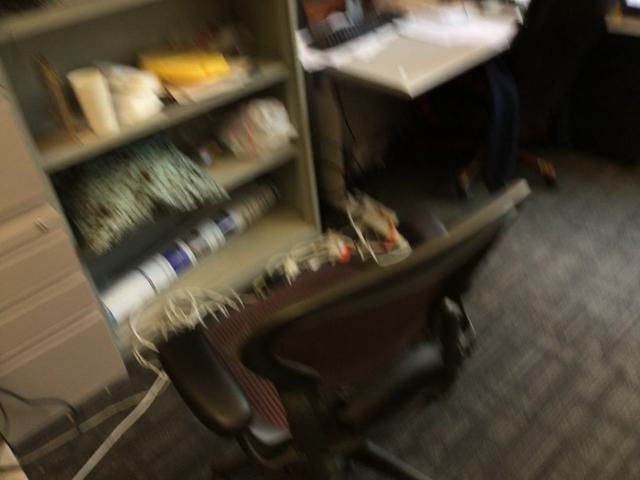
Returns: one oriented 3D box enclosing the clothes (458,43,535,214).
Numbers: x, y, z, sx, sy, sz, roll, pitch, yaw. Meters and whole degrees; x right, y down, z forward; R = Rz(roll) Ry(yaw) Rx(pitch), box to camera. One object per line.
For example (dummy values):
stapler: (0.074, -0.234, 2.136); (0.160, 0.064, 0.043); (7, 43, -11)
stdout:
clothes: (0.640, -0.400, 2.140); (0.110, 0.590, 0.190); (-30, 42, -32)

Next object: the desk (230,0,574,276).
desk: (0.340, -0.580, 2.380); (0.980, 0.830, 0.840); (-30, 42, -32)
